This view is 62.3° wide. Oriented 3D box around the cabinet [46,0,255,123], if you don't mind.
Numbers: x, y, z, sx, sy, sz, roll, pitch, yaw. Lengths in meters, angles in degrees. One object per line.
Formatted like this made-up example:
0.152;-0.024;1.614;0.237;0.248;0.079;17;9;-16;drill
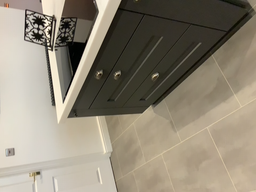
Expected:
0.010;-0.380;1.530;1.260;0.910;0.600;-50;50;48;cabinet
